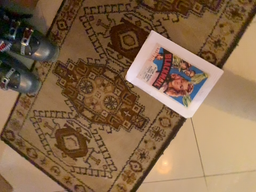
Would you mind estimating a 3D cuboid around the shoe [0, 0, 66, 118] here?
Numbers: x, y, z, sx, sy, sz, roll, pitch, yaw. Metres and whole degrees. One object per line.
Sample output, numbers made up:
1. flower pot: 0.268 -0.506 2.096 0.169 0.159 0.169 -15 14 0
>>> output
1. shoe: -0.530 -0.150 0.760 0.310 0.400 0.370 33 103 9
